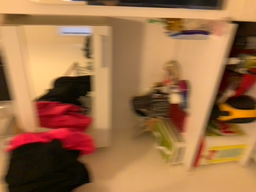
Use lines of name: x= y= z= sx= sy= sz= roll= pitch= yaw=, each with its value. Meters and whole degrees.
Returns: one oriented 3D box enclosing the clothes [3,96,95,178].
clothes: x=-0.340 y=0.170 z=1.020 sx=0.330 sy=0.340 sz=0.220 roll=-113 pitch=24 yaw=-63
